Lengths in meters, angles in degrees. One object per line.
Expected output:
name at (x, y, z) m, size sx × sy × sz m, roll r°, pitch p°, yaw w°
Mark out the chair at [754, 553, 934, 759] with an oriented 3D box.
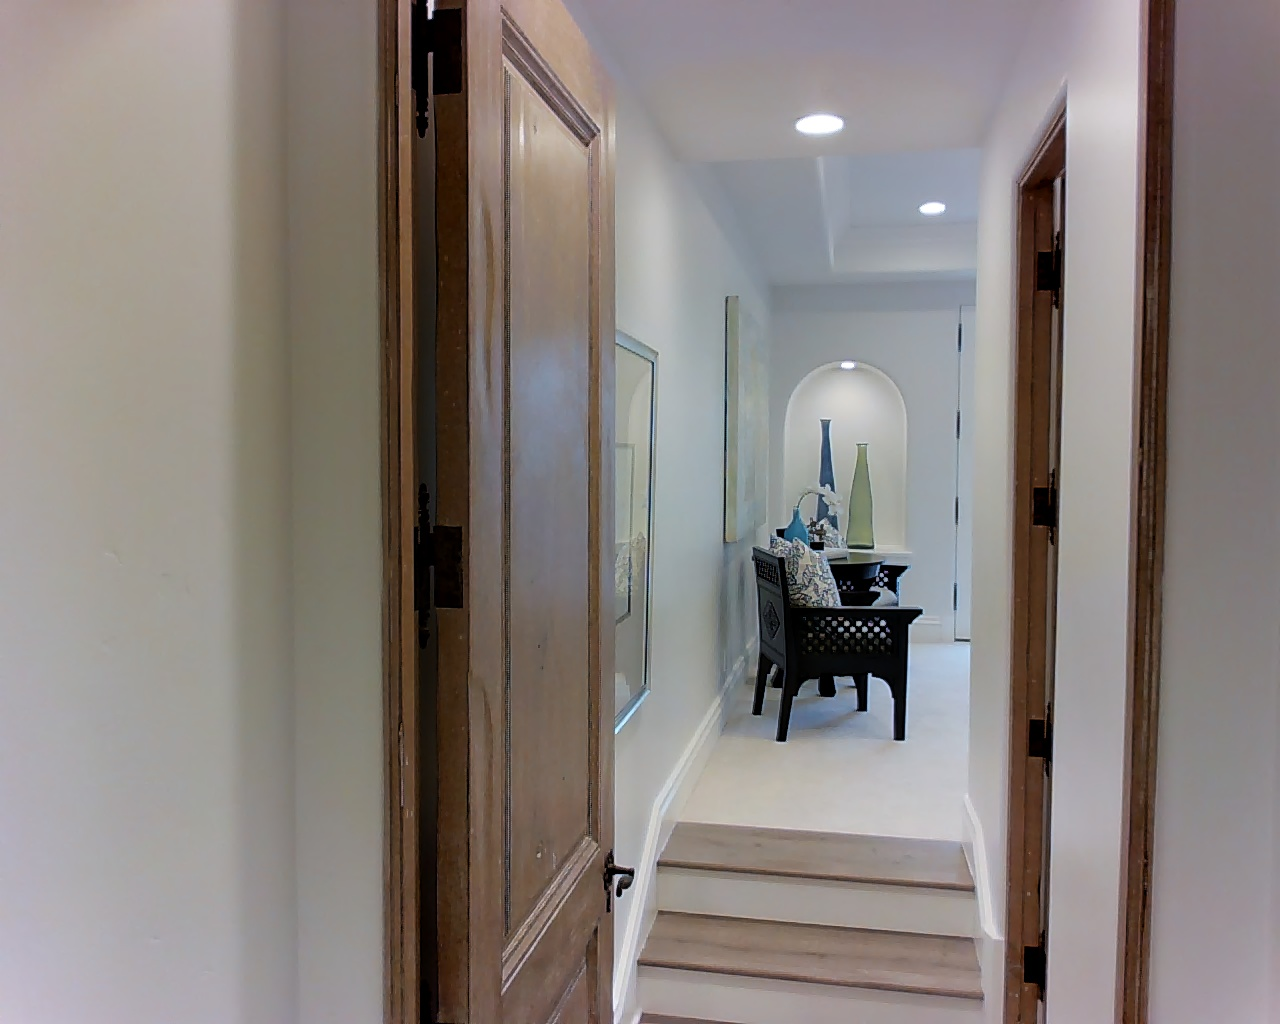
chair at (0.980, 0.680, 5.300) m, size 0.720 × 0.890 × 0.660 m, roll 0°, pitch 3°, yaw -5°
